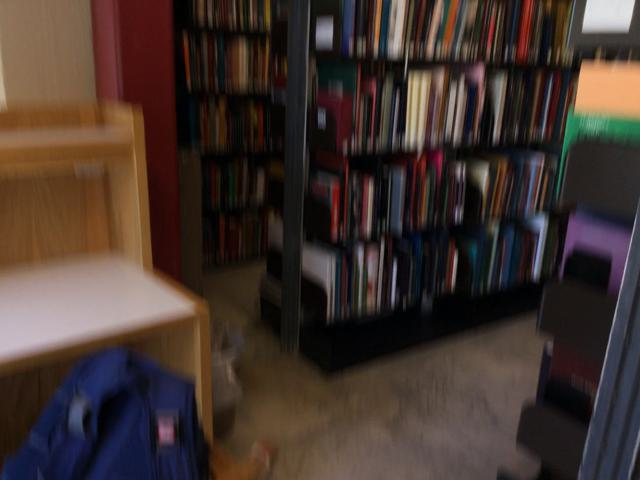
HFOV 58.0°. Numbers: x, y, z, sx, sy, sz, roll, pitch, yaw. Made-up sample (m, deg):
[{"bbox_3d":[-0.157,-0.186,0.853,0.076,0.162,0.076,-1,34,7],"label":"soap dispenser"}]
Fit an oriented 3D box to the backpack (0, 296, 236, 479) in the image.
[{"bbox_3d":[-0.380,0.410,0.910,0.430,0.480,0.200,-28,-20,11],"label":"backpack"}]
